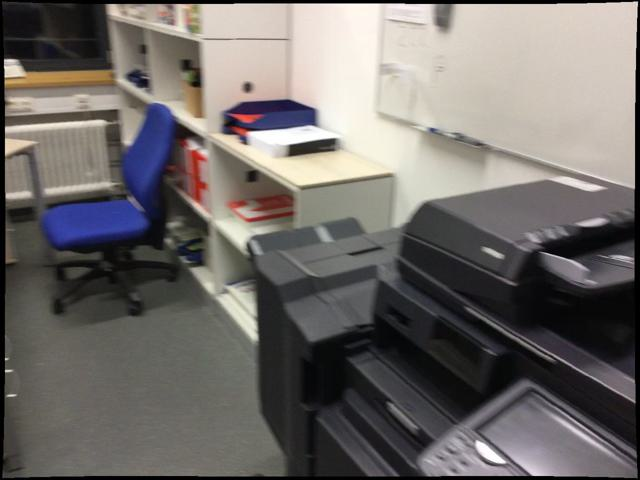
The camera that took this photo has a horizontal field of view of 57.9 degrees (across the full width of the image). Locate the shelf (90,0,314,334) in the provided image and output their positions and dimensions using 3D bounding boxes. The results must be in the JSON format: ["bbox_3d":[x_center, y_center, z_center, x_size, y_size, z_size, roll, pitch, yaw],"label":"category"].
[{"bbox_3d":[-0.739,-0.741,3.140,0.470,1.751,1.800,-12,29,-31],"label":"shelf"}]

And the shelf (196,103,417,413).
[{"bbox_3d":[-0.120,0.010,2.430,0.470,0.961,0.870,-12,29,-31],"label":"shelf"}]

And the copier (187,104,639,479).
[{"bbox_3d":[0.350,0.420,1.390,0.889,1.191,1.220,-12,29,-31],"label":"copier"}]
